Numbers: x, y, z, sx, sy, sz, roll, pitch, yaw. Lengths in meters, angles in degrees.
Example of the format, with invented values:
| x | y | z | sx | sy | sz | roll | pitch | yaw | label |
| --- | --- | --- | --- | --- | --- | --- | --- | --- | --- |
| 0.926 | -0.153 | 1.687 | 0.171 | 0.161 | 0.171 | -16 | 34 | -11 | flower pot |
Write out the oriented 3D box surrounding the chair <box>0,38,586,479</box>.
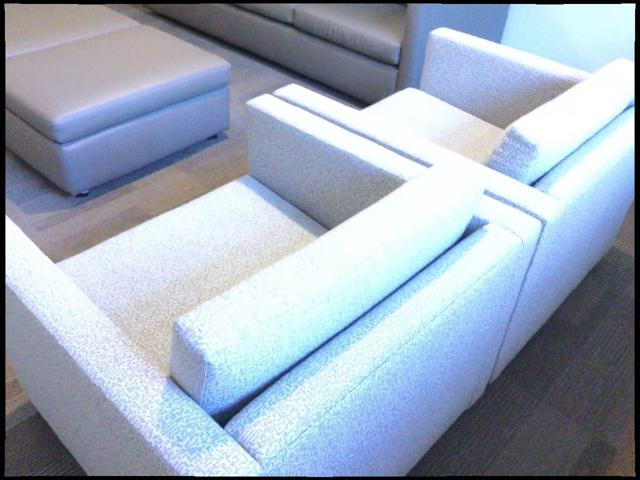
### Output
| x | y | z | sx | sy | sz | roll | pitch | yaw | label |
| --- | --- | --- | --- | --- | --- | --- | --- | --- | --- |
| -0.140 | 0.140 | 1.330 | 0.899 | 0.741 | 0.939 | 33 | 47 | 29 | chair |

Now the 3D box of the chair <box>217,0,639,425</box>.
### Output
| x | y | z | sx | sy | sz | roll | pitch | yaw | label |
| --- | --- | --- | --- | --- | --- | --- | --- | --- | --- |
| 0.389 | -0.230 | 1.830 | 0.949 | 0.721 | 1.009 | 33 | 47 | 29 | chair |
